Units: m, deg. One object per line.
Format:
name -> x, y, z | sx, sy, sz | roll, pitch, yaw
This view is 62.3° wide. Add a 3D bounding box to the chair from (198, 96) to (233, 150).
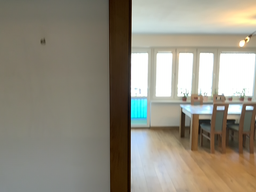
chair -> 1.800, 0.540, 4.420 | 0.440, 1.010, 0.530 | 0, 8, 1
